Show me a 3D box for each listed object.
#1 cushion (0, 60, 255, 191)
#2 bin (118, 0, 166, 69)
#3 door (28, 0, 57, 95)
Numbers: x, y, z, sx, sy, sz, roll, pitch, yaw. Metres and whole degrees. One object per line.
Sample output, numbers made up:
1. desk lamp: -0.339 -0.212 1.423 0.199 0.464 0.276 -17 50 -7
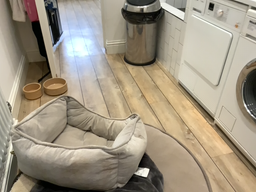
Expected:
1. cushion: -0.070 0.320 1.090 1.050 0.430 1.200 -8 36 -12
2. bin: 0.130 -0.690 2.370 0.430 0.650 0.330 -6 36 -10
3. door: -0.800 -1.060 1.770 0.050 2.000 0.840 -8 37 -13
